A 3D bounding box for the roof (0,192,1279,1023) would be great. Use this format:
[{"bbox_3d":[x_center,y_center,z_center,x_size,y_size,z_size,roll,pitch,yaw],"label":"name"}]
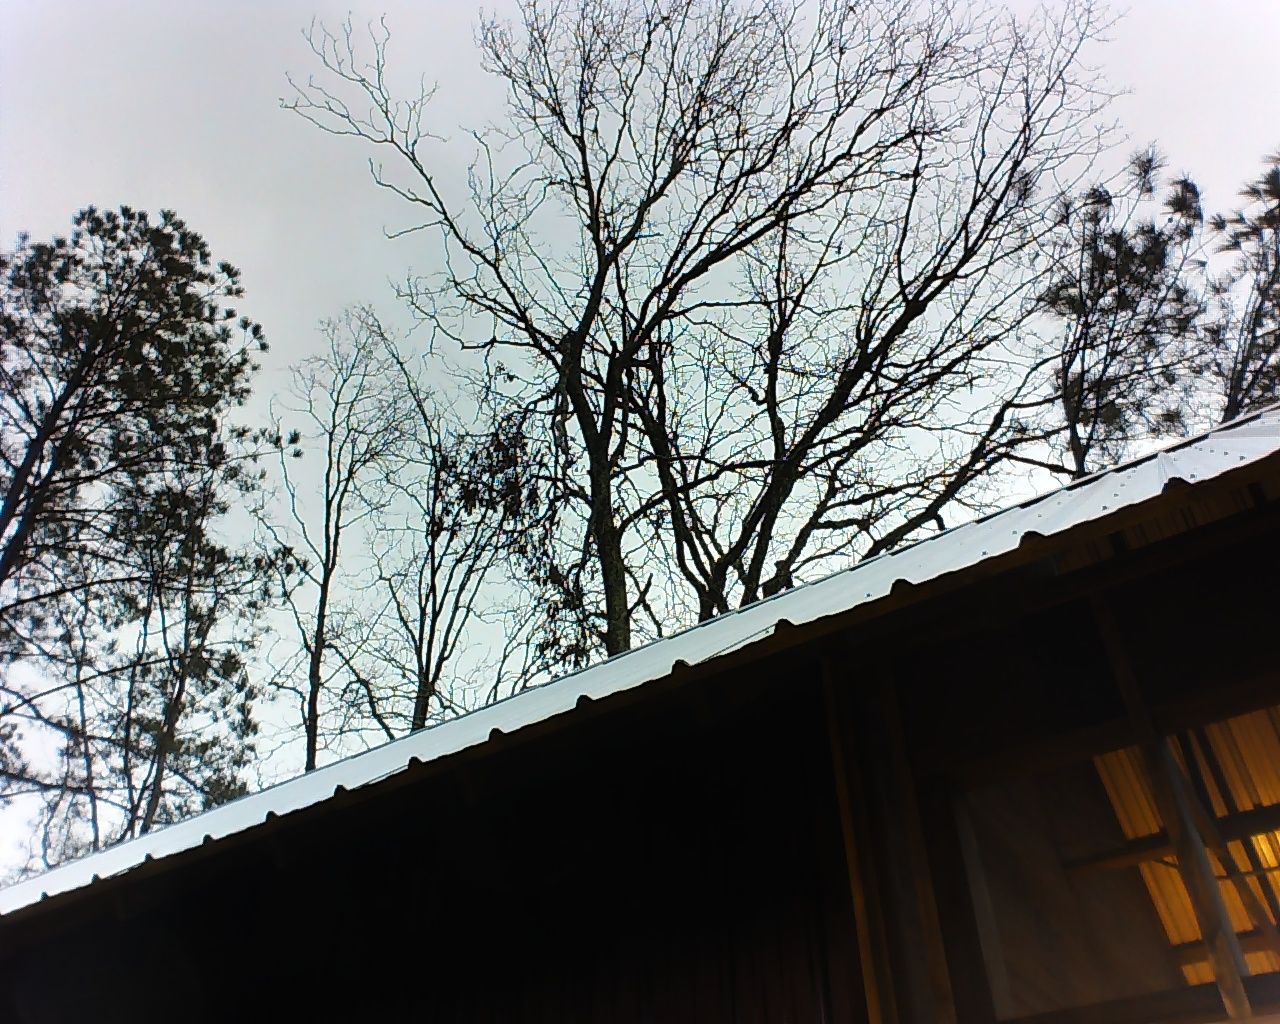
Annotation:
[{"bbox_3d":[-1.030,0.900,3.030,8.650,0.480,0.770,-24,-47,25],"label":"roof"}]
